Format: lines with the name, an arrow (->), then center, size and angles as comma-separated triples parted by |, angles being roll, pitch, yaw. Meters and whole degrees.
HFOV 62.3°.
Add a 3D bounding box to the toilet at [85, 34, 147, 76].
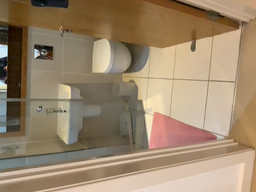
toilet -> -0.160, -0.450, 2.450 | 0.550, 0.490, 0.380 | 12, 100, 58
